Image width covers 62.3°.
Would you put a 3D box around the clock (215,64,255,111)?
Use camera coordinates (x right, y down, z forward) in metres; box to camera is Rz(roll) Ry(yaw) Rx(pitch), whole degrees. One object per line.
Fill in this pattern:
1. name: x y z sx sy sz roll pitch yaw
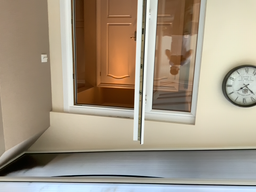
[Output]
1. clock: 1.080 -0.080 2.000 0.420 0.410 0.110 4 -168 10
